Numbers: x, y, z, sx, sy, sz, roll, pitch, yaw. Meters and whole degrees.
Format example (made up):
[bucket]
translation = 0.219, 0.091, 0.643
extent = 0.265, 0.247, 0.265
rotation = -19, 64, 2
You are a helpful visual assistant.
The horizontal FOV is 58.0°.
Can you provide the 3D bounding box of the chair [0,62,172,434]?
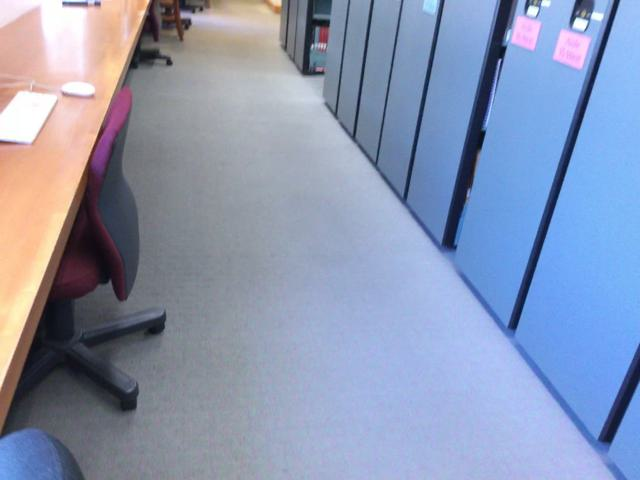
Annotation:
[chair]
translation = -0.800, -0.010, 1.720
extent = 0.660, 0.880, 0.680
rotation = 2, 24, -13
